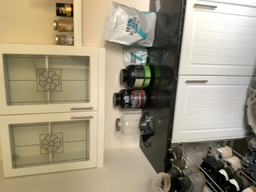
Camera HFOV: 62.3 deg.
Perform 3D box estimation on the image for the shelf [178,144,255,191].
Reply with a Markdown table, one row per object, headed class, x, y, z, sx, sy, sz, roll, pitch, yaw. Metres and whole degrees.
| class | x | y | z | sx | sy | sz | roll | pitch | yaw |
| --- | --- | --- | --- | --- | --- | --- | --- | --- | --- |
| shelf | 0.880 | 0.640 | 1.430 | 0.780 | 0.750 | 0.250 | -140 | 51 | -68 |
